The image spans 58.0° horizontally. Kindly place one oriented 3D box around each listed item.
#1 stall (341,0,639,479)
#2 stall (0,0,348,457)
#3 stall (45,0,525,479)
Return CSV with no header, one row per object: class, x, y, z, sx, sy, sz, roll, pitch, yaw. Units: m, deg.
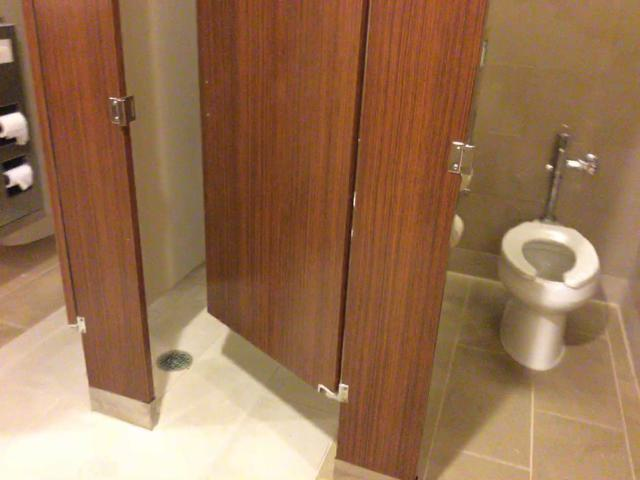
stall,0.780,-0.170,1.850,0.930,1.560,1.580,9,22,18
stall,-0.660,-0.410,2.270,1.080,1.520,1.560,9,22,18
stall,0.070,-0.270,2.020,1.030,1.550,1.450,9,22,18
